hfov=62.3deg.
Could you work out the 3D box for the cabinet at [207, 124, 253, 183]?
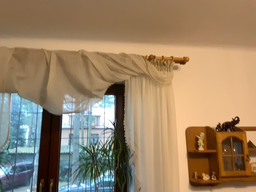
[{"bbox_3d":[0.860,0.480,1.810,0.280,0.460,0.150,1,-12,-9],"label":"cabinet"}]
